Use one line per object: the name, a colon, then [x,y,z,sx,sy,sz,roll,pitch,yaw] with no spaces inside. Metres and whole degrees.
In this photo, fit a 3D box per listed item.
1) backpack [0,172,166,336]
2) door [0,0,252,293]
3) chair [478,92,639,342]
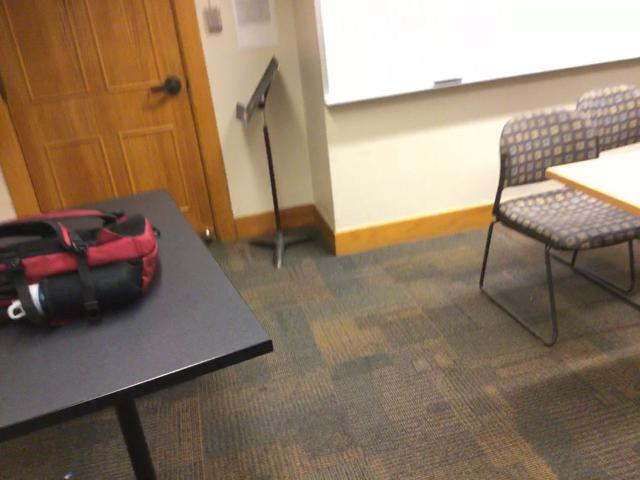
backpack: [-0.650,0.030,1.380,0.500,0.220,0.330,-12,23,-8]
door: [-1.100,-0.520,2.990,1.230,1.360,0.280,-12,23,-8]
chair: [0.990,-0.120,2.210,0.530,0.730,0.550,-12,23,-8]
